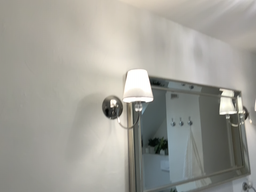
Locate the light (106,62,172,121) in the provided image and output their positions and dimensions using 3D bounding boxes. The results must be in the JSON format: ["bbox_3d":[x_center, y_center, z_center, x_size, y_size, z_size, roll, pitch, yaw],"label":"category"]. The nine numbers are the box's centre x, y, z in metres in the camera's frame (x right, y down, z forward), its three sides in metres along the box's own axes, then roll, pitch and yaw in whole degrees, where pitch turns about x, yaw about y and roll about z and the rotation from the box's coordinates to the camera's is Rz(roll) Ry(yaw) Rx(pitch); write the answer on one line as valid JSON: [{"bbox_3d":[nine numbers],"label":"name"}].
[{"bbox_3d":[0.040,0.000,1.090,0.170,0.240,0.320,4,-11,-34],"label":"light"}]
